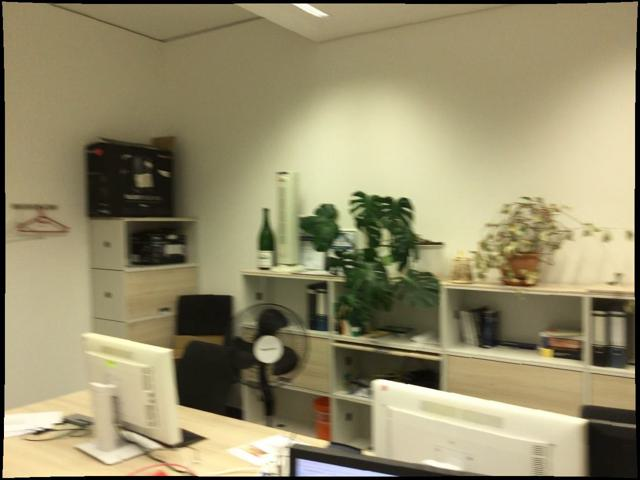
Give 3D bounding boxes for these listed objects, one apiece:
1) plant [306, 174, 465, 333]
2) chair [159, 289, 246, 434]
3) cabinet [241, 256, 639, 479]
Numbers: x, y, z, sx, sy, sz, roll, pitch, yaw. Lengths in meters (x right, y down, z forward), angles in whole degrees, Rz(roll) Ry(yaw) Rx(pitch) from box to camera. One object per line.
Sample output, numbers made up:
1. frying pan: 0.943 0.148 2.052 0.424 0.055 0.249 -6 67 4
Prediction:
1. plant: 0.440 0.040 3.750 0.799 0.891 0.660 2 8 32
2. chair: -0.899 0.921 4.540 0.589 0.991 0.580 0 3 -3
3. cabinet: 0.899 0.841 3.600 3.168 1.291 0.450 2 6 32
